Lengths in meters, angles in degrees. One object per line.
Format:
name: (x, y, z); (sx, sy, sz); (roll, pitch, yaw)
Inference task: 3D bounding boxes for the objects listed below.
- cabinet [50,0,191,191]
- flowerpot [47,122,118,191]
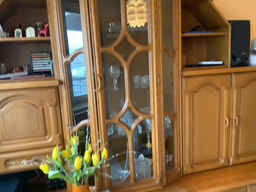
cabinet: (-0.050, -0.200, 1.570); (0.870, 1.700, 0.450); (-5, 10, -13)
flowerpot: (-0.300, 0.500, 1.480); (0.410, 0.550, 0.230); (-5, 10, -12)
